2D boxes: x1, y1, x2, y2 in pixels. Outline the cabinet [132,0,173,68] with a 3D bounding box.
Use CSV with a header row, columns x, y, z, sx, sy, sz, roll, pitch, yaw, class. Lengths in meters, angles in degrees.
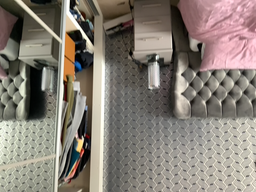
x,y,z,sx,sy,sz,roll,pitch,yaw,class
0.270,-0.680,2.320,0.400,0.620,0.430,-2,171,9,cabinet
